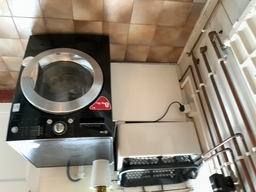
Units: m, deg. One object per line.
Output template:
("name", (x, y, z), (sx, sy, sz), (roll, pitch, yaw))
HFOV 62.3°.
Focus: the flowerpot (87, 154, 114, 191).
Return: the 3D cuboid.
("flowerpot", (-0.200, 0.690, 1.580), (0.180, 0.430, 0.280), (-2, 149, -5))
